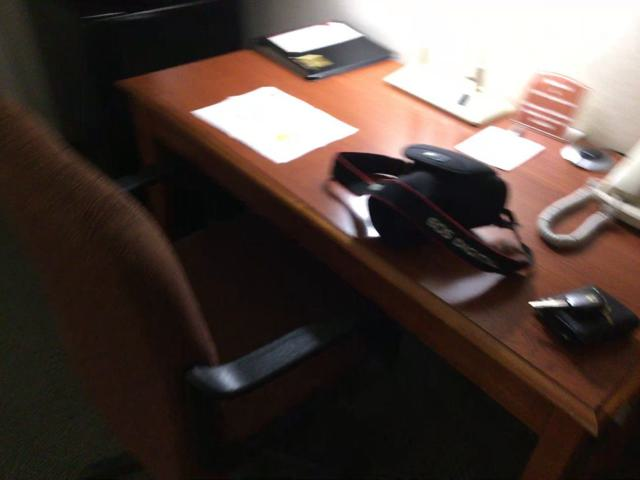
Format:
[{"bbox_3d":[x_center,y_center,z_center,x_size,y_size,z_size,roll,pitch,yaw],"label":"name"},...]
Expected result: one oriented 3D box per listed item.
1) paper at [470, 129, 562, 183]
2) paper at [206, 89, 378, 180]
[{"bbox_3d":[0.390,-0.170,1.150,0.140,0.020,0.120,-26,48,-35],"label":"paper"},{"bbox_3d":[-0.060,-0.230,1.200,0.230,0.020,0.280,-26,48,-35],"label":"paper"}]
